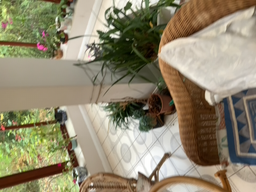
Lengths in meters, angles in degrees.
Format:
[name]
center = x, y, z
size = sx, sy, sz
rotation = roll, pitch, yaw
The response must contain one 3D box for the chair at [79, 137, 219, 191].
[chair]
center = 0.120, 0.850, 1.720
size = 0.660, 0.820, 0.640
rotation = 34, 120, 47
